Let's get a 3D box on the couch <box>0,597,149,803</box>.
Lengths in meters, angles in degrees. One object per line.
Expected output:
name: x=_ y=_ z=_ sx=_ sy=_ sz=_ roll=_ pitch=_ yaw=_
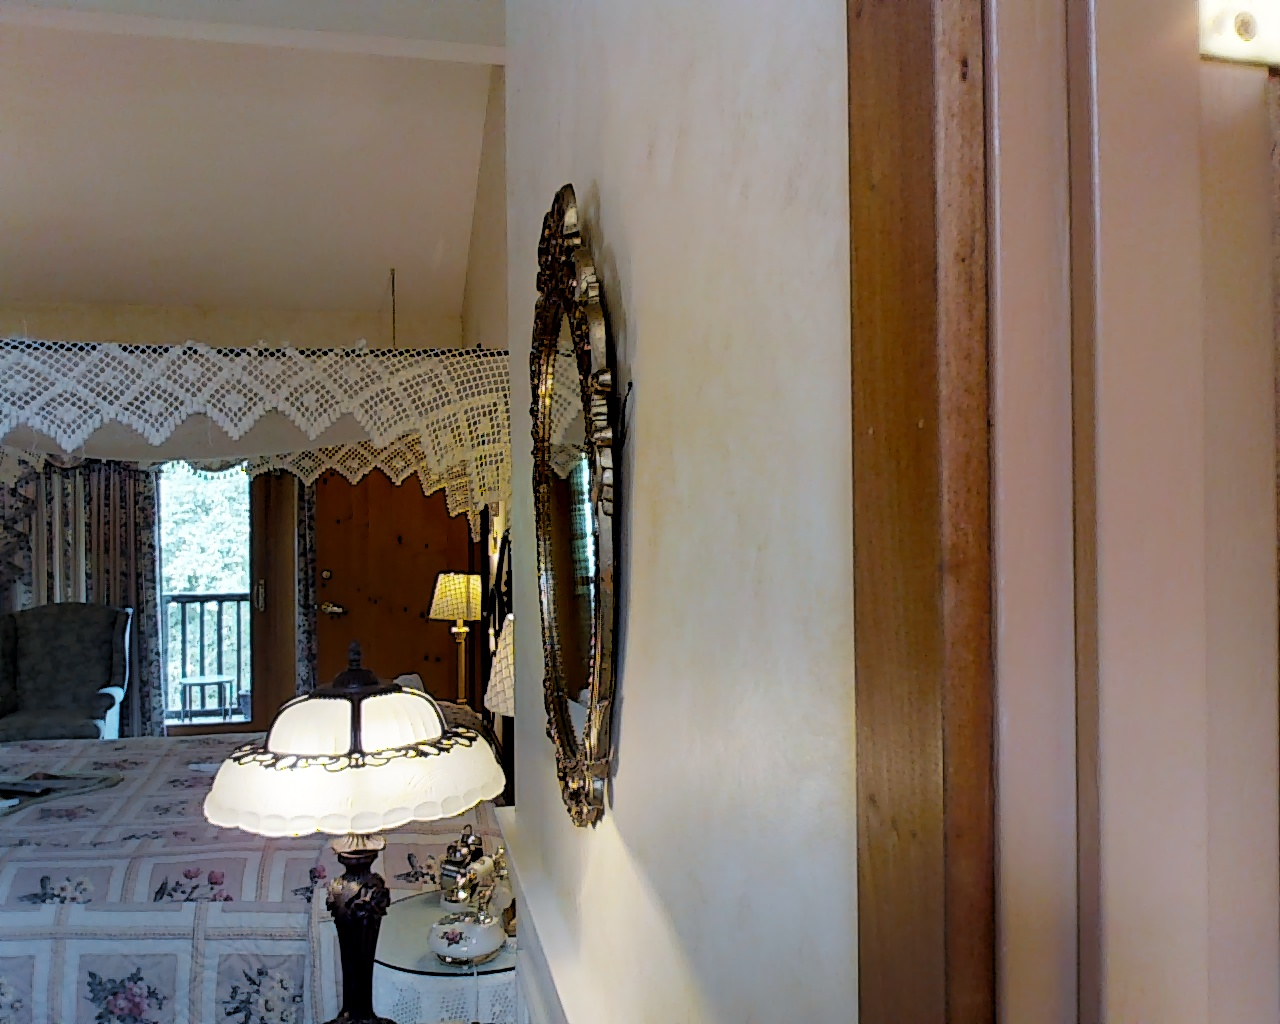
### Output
couch: x=-3.389 y=1.040 z=6.210 sx=0.850 sy=1.010 sz=0.950 roll=-1 pitch=-1 yaw=-14
